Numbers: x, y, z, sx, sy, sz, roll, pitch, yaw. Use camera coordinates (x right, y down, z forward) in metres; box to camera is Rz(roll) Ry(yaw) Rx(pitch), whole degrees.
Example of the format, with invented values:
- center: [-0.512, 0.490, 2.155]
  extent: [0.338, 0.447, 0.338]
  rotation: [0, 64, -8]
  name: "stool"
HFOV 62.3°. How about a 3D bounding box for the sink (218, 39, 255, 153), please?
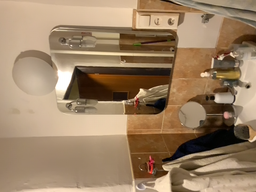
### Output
- center: [0.740, -0.010, 1.210]
  extent: [0.400, 0.130, 0.520]
  rotation: [-101, 13, -58]
  name: "sink"
